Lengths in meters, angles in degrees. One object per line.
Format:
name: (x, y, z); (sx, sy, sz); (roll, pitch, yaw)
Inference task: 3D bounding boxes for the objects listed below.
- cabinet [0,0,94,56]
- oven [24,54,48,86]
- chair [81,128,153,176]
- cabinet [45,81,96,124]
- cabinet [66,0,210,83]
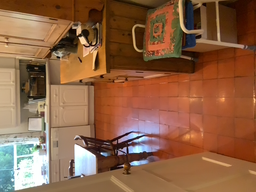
cabinet: (-1.010, -0.630, 1.780); (1.530, 0.950, 0.270); (1, 91, 60)
oven: (-1.770, -0.470, 4.080); (0.470, 0.370, 0.540); (-1, 89, 60)
chair: (-0.130, 0.640, 2.570); (0.390, 0.780, 0.400); (-2, 88, 60)
cabinet: (-1.170, 0.120, 4.280); (0.620, 0.860, 0.780); (0, 90, 60)
cabinet: (-0.040, -0.480, 2.330); (1.520, 0.910, 0.570); (1, 91, 60)
